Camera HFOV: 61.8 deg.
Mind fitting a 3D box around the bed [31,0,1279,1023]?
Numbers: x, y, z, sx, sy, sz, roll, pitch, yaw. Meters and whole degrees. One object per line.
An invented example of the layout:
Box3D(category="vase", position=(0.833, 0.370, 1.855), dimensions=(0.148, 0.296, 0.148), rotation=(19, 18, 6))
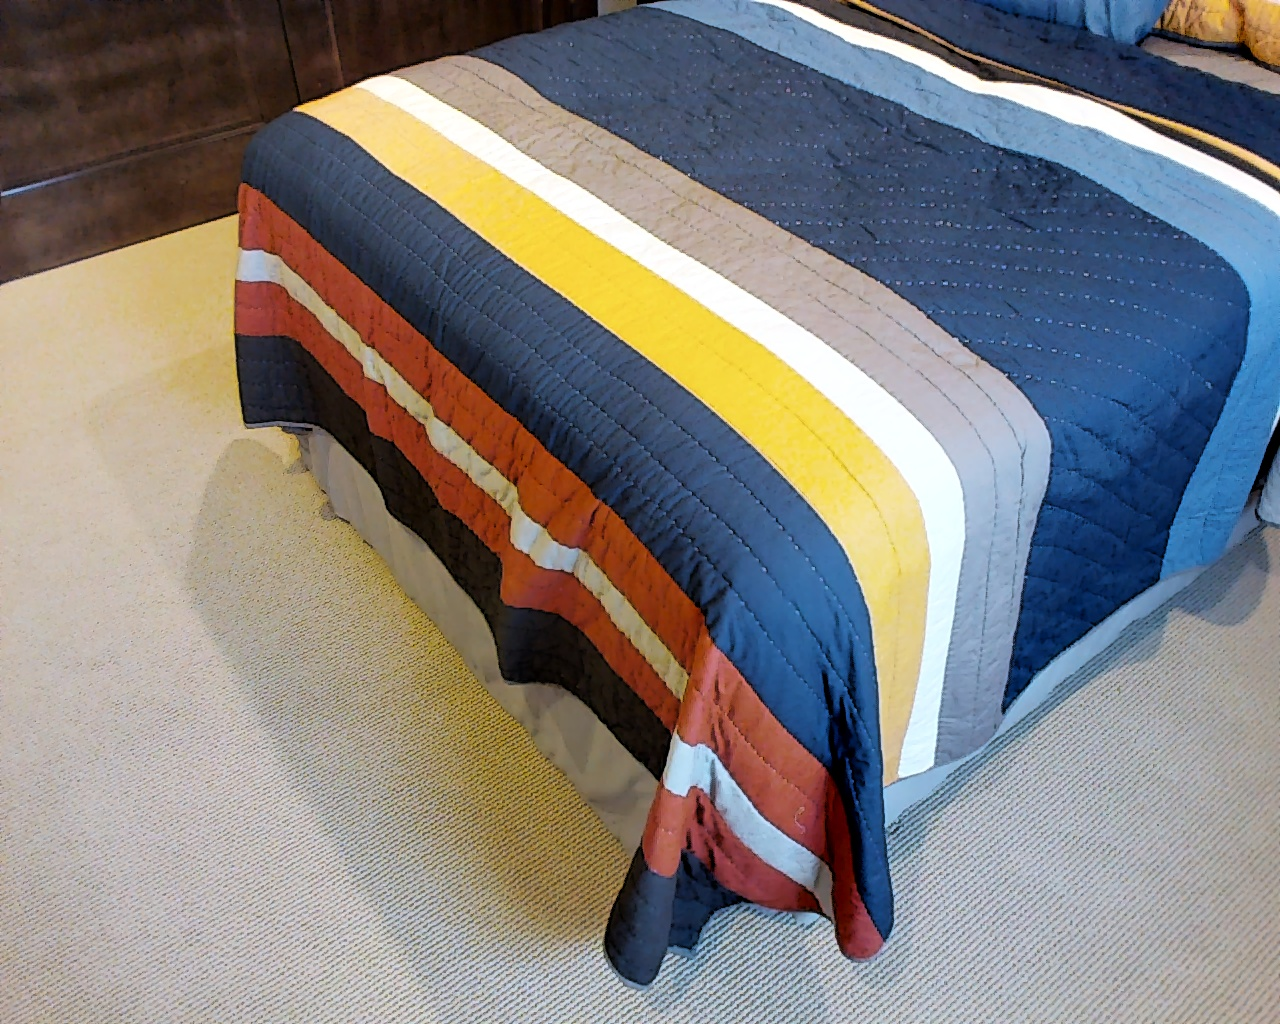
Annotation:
Box3D(category="bed", position=(0.400, -0.470, 1.820), dimensions=(2.050, 1.110, 1.550), rotation=(-27, 49, -28))
